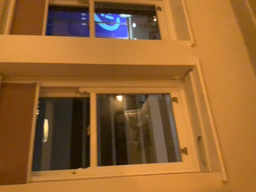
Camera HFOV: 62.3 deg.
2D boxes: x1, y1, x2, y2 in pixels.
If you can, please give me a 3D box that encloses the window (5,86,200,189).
[{"bbox_3d":[-0.140,0.240,1.470,0.050,1.190,0.670,109,159,-63],"label":"window"}]
